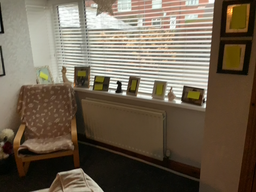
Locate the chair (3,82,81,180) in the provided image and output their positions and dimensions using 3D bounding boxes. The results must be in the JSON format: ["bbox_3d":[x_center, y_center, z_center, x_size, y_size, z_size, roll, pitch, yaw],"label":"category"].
[{"bbox_3d":[-1.030,0.370,2.740,0.700,0.900,0.850,-5,17,-15],"label":"chair"}]
